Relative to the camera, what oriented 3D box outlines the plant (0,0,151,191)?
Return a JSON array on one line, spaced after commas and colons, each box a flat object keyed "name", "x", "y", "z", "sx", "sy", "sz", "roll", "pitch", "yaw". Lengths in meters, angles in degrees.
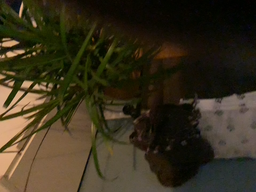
[{"name": "plant", "x": -0.130, "y": -0.160, "z": 0.640, "sx": 0.370, "sy": 0.830, "sz": 0.520, "roll": 2, "pitch": 130, "yaw": 7}]
